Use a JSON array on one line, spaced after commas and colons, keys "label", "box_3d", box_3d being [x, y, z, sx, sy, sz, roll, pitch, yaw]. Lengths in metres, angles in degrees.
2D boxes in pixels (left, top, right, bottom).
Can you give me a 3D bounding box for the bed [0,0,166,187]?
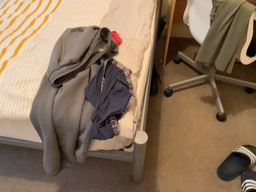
[{"label": "bed", "box_3d": [-0.850, -0.350, 1.420, 2.100, 0.570, 1.320, 8, 52, 7]}]
